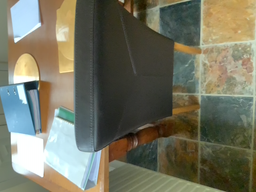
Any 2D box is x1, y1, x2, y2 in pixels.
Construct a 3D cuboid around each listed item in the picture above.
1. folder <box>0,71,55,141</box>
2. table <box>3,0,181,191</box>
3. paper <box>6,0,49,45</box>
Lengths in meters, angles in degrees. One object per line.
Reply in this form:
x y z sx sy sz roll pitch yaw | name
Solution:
-0.600 0.050 1.250 0.360 0.130 0.360 0 92 37 | folder
-0.210 -0.640 1.370 0.840 0.770 2.220 3 94 37 | table
-0.600 -0.460 1.250 0.340 0.070 0.290 14 100 36 | paper
